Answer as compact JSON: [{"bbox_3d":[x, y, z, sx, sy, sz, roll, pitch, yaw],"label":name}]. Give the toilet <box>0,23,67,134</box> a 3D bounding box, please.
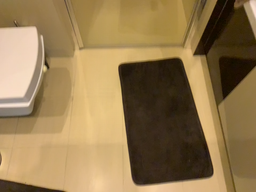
[{"bbox_3d":[-0.650,-0.060,1.070,0.530,0.450,0.380,0,64,-1],"label":"toilet"}]
